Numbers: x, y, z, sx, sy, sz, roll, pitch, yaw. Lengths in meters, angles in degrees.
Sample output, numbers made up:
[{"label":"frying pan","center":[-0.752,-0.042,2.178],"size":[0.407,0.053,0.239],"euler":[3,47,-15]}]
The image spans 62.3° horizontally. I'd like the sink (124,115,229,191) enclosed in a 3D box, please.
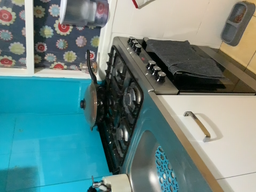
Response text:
[{"label":"sink","center":[0.150,0.350,0.880],"size":[0.370,0.150,0.390],"euler":[-117,35,-48]}]
